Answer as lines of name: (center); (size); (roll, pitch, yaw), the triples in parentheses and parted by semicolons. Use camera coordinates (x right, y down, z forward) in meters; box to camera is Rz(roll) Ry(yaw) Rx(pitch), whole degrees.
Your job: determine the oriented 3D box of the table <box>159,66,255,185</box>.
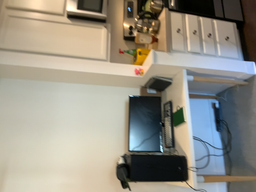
table: (0.780, 0.320, 2.150); (0.570, 0.720, 1.020); (126, 146, -68)
